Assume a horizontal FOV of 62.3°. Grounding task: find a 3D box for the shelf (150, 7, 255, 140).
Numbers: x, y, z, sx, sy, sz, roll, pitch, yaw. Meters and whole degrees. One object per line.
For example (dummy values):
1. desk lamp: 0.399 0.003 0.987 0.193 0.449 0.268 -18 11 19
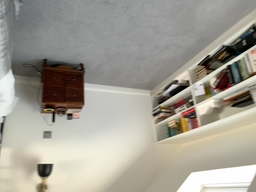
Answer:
1. shelf: 0.980 -0.050 2.550 0.530 0.810 1.790 5 157 -23
